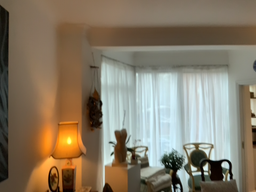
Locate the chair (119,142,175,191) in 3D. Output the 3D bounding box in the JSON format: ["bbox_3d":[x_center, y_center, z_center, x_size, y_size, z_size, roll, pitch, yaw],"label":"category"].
[{"bbox_3d":[0.300,1.300,3.300,0.560,1.020,0.650,-4,-4,45],"label":"chair"}]

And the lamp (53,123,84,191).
[{"bbox_3d":[-0.570,0.620,2.080,0.230,0.680,0.280,-1,-3,-2],"label":"lamp"}]

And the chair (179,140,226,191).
[{"bbox_3d":[1.210,1.300,3.520,0.540,1.030,0.540,-1,-3,-5],"label":"chair"}]
